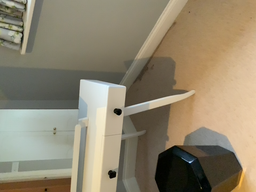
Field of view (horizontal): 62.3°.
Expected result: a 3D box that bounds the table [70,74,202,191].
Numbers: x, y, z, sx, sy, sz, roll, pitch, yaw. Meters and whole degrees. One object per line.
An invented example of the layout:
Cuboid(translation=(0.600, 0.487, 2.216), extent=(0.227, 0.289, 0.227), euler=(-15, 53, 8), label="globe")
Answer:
Cuboid(translation=(0.060, 0.360, 1.410), extent=(0.340, 0.760, 0.950), euler=(14, 102, 52), label="table")
